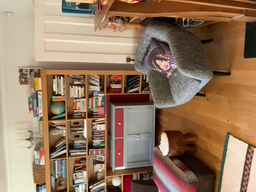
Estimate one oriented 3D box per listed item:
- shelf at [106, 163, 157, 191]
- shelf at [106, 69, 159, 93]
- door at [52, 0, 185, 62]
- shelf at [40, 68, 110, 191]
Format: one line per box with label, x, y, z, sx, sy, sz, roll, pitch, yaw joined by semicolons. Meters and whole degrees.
shelf;0.070;1.620;4.120;0.310;0.940;0.440;-159;69;-73
shelf;0.080;-0.280;3.930;0.280;0.940;0.410;-159;69;-73
door;-0.060;-0.890;2.810;0.120;1.770;0.810;-171;81;-74
shelf;-0.900;0.700;3.740;0.330;1.100;2.340;-159;69;-73
